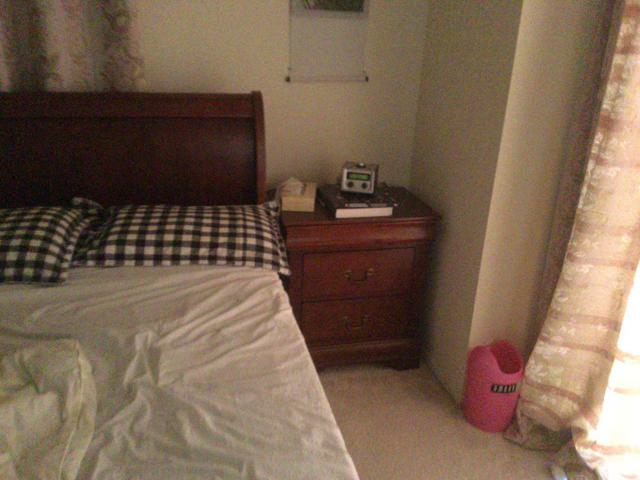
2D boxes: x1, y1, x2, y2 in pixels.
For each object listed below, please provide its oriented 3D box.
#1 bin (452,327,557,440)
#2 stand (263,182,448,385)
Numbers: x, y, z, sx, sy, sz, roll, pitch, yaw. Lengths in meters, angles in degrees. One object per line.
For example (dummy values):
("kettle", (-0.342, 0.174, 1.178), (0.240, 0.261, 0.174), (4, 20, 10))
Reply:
("bin", (0.630, 0.490, 2.010), (0.230, 0.280, 0.230), (-3, 19, -12))
("stand", (0.110, 0.150, 2.320), (0.620, 0.670, 0.400), (-3, 19, -13))
